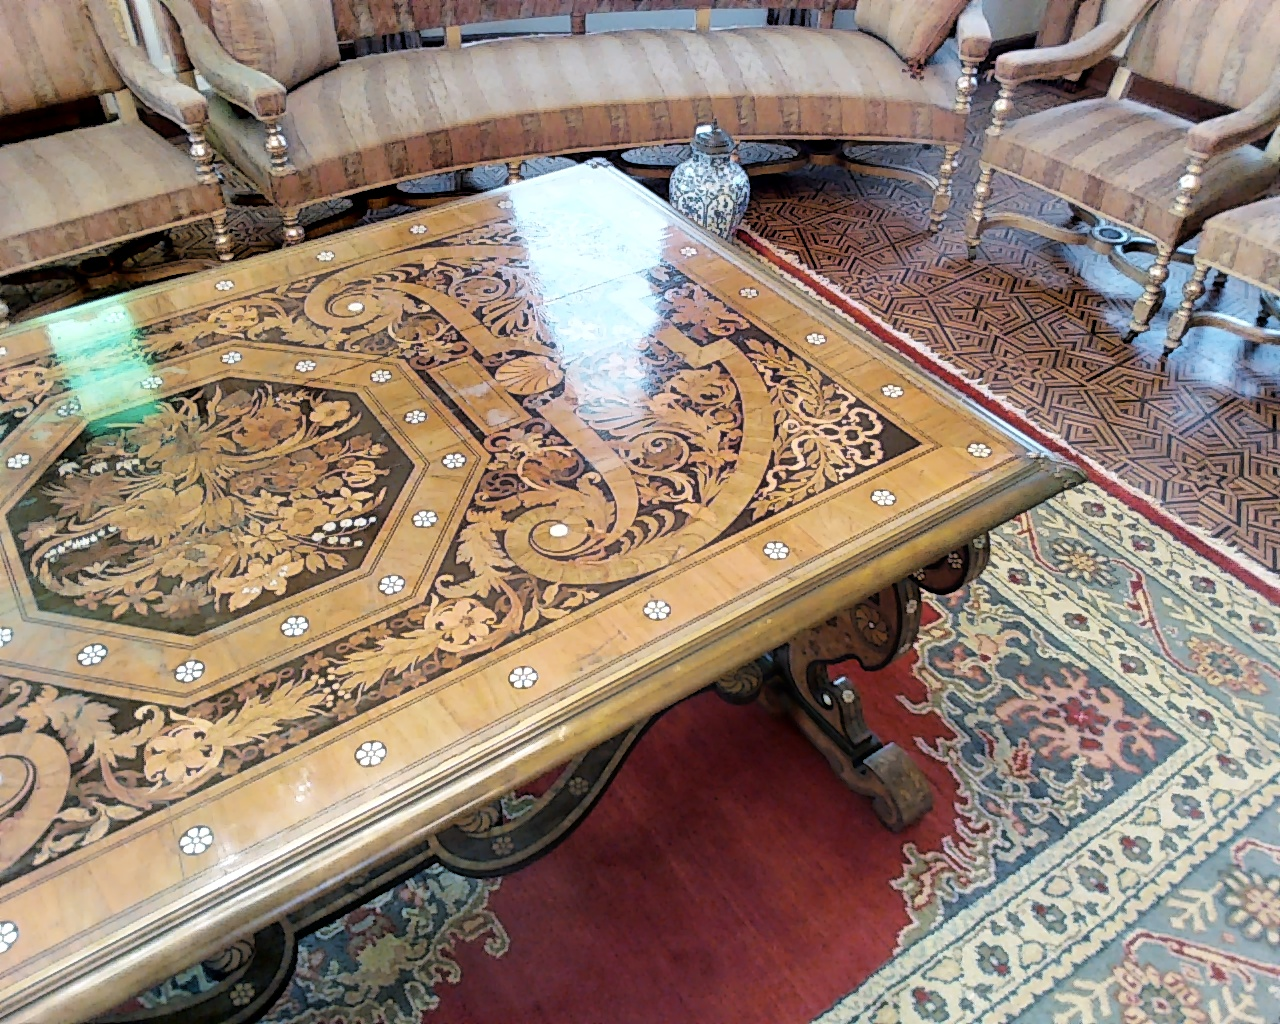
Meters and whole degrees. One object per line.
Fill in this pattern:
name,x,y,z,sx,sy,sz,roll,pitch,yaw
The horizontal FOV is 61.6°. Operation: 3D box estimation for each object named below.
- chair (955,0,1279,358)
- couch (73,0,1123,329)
chair,1.600,-1.240,3.170,0.770,1.170,0.750,-25,48,-27
couch,-0.090,-1.500,3.530,2.909,1.070,1.080,-8,42,-10
